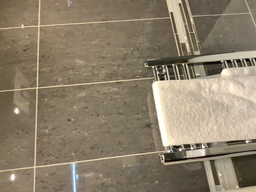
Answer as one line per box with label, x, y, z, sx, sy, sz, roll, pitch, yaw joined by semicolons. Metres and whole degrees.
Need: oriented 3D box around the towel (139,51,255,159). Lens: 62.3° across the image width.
towel;0.460;0.010;0.790;0.130;0.790;0.330;99;165;-67
